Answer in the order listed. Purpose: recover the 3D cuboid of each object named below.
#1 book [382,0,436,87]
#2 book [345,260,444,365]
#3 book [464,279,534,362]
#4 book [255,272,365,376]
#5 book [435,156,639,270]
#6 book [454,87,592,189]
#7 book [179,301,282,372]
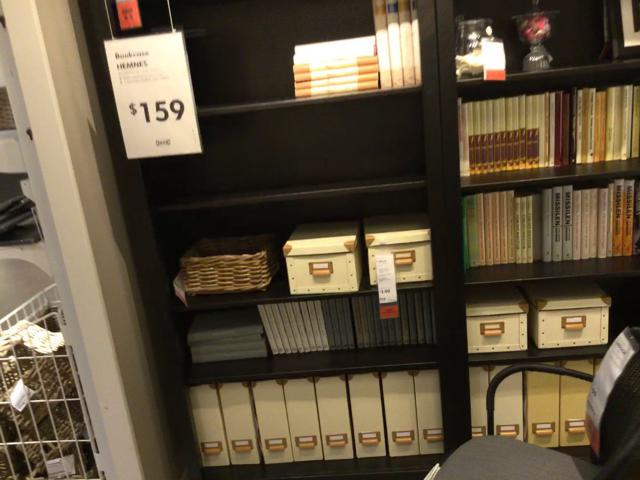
[{"bbox_3d":[0.260,-0.570,1.670,0.130,0.230,0.150,-4,15,12],"label":"book"},{"bbox_3d":[0.250,0.230,1.880,0.280,0.250,0.250,-4,15,12],"label":"book"},{"bbox_3d":[0.560,0.250,1.830,0.180,0.170,0.240,-4,15,12],"label":"book"},{"bbox_3d":[-0.020,0.270,1.910,0.280,0.230,0.300,-4,15,12],"label":"book"},{"bbox_3d":[0.800,-0.100,1.870,0.820,0.240,0.380,-4,15,12],"label":"book"},{"bbox_3d":[0.550,-0.290,1.610,0.320,0.220,0.270,-4,15,12],"label":"book"},{"bbox_3d":[-0.300,0.330,2.000,0.270,0.140,0.250,-4,15,12],"label":"book"}]
